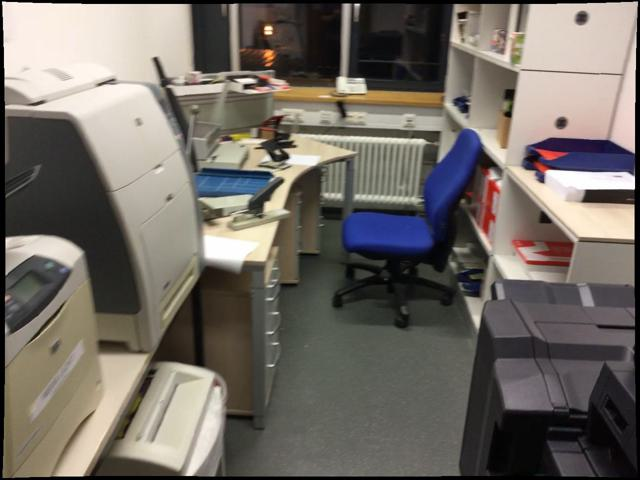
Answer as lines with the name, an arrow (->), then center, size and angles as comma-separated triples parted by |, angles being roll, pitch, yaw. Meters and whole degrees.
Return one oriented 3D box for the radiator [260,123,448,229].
radiator -> 0.220, -0.460, 4.170 | 1.269, 0.651, 0.240 | 3, 23, -1
